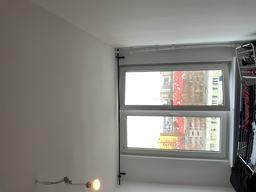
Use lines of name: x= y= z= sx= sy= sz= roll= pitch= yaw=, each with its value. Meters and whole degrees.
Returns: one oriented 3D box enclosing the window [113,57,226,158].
window: x=0.610 y=0.180 z=3.310 sx=0.120 sy=1.650 sz=1.500 roll=-37 pitch=-54 yaw=-79
